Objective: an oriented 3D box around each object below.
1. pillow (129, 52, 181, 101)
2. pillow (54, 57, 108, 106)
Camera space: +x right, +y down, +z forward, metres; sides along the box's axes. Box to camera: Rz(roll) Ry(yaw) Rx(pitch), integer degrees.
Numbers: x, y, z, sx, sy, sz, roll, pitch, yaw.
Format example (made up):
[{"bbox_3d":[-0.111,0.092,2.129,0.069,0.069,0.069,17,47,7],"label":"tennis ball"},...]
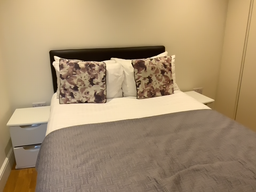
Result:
[{"bbox_3d":[0.270,-0.190,2.150,0.420,0.420,0.150,5,16,-20],"label":"pillow"},{"bbox_3d":[-0.440,-0.130,1.980,0.430,0.380,0.170,6,16,-15],"label":"pillow"}]
